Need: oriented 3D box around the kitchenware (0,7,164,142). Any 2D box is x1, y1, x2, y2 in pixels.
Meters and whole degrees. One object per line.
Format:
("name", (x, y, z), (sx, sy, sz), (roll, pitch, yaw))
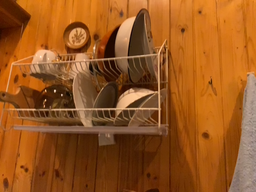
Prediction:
("kitchenware", (-0.150, -0.050, 0.750), (0.530, 0.390, 0.210), (-1, -13, 14))
